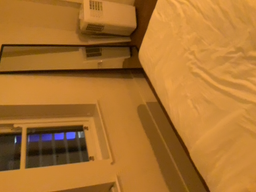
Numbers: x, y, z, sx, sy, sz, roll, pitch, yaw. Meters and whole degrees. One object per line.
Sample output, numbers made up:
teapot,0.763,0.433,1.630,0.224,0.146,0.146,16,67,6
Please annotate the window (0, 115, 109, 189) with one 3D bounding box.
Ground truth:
window,-0.870,0.500,2.090,0.730,1.230,0.070,-114,33,-44
